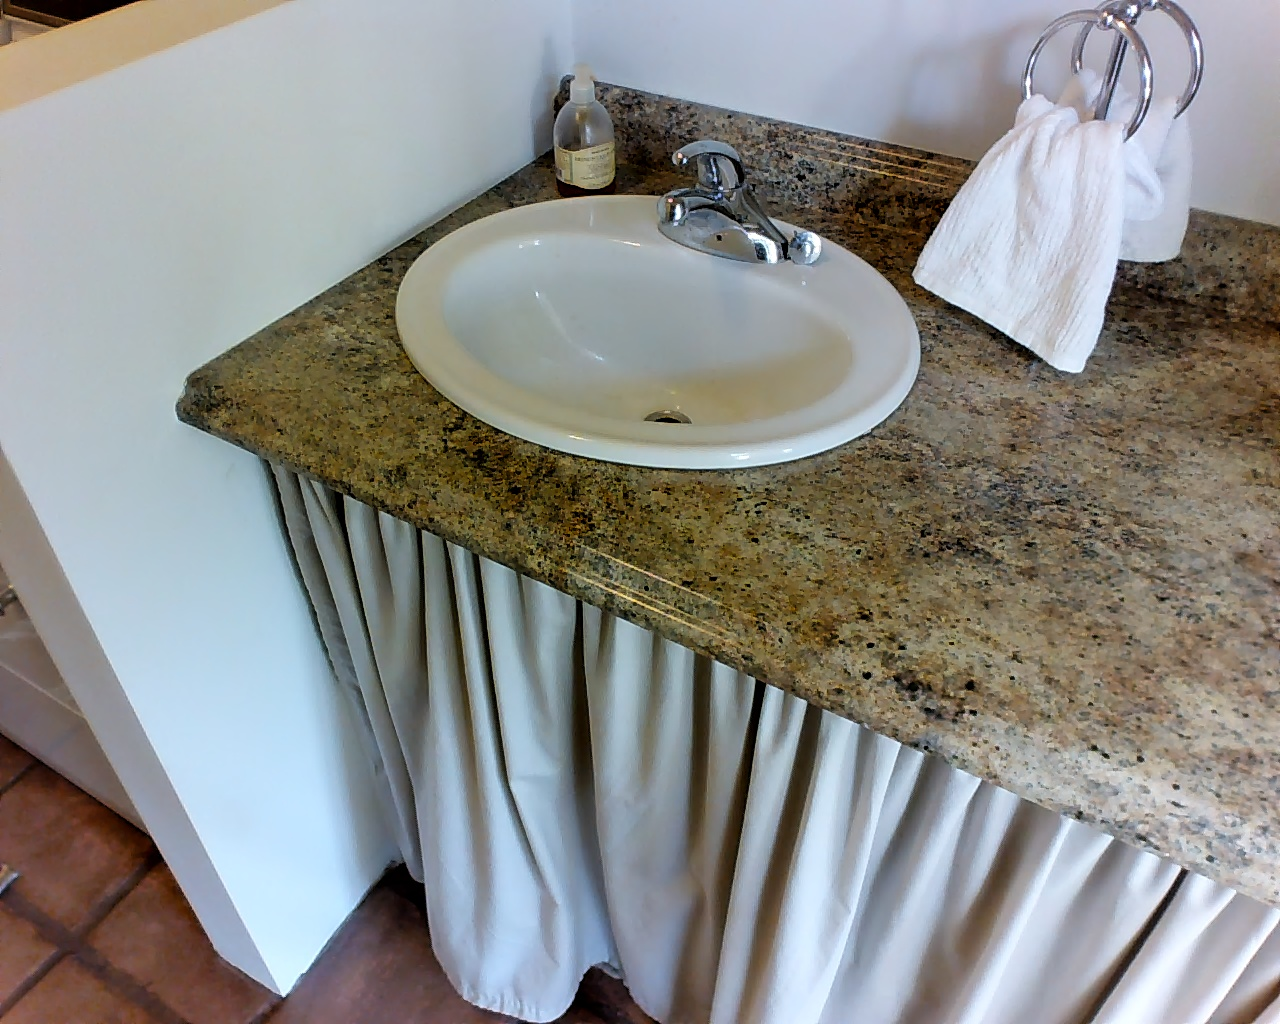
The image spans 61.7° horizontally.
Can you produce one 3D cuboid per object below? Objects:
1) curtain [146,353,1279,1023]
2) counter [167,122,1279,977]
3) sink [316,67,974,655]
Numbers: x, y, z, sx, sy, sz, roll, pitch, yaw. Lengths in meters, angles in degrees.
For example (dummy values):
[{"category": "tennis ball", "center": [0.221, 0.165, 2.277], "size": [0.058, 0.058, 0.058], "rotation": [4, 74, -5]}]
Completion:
[{"category": "curtain", "center": [0.130, 0.430, 1.040], "size": [1.210, 0.890, 0.150], "rotation": [22, 47, 23]}, {"category": "counter", "center": [0.280, -0.060, 0.940], "size": [1.220, 0.080, 0.670], "rotation": [22, 47, 23]}, {"category": "sink", "center": [0.030, -0.190, 1.070], "size": [0.400, 0.270, 0.500], "rotation": [22, 47, 23]}]
